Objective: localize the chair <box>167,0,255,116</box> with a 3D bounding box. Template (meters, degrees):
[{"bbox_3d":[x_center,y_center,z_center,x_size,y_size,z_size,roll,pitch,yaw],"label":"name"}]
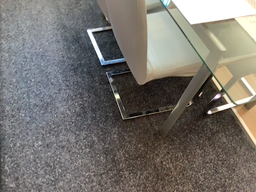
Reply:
[{"bbox_3d":[0.680,-0.350,1.180,0.550,0.940,0.380,-17,61,-19],"label":"chair"}]
